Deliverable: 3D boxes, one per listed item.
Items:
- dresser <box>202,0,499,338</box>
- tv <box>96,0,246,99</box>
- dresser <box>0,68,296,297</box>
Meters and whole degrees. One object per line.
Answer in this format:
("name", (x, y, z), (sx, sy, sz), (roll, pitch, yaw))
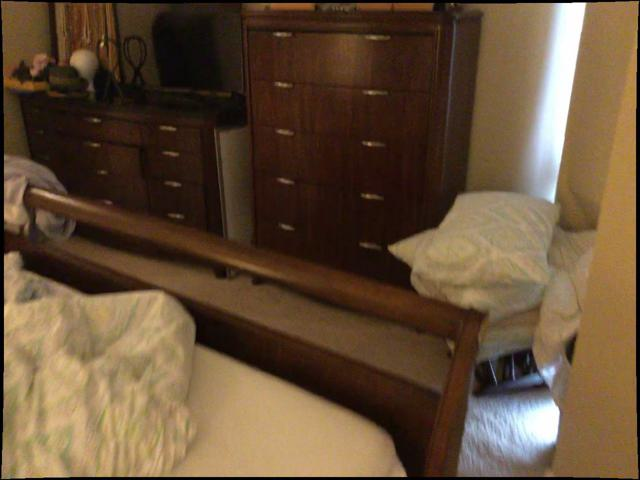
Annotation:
("dresser", (0.150, -0.491, 2.910), (1.208, 1.583, 0.620), (13, 29, 29))
("tv", (-0.878, -1.173, 3.350), (0.909, 0.601, 0.200), (13, 29, 29))
("dresser", (-1.177, -0.471, 3.660), (1.897, 1.002, 0.760), (13, 29, 29))
